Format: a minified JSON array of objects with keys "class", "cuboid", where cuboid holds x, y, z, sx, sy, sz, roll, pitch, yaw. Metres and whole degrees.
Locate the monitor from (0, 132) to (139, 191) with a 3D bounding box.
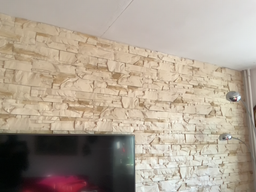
[{"class":"monitor","cuboid":[-0.470,0.680,1.710,1.270,0.720,0.040,8,-14,-28]}]
